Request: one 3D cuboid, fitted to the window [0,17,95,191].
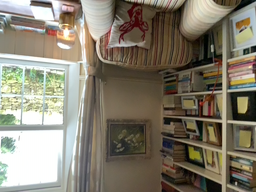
[{"bbox_3d":[-1.100,0.260,2.240,1.360,2.000,0.370,3,177,-23],"label":"window"}]

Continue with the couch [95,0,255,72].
[{"bbox_3d":[0.290,-0.720,1.710,1.000,0.860,0.960,2,177,-5],"label":"couch"}]
